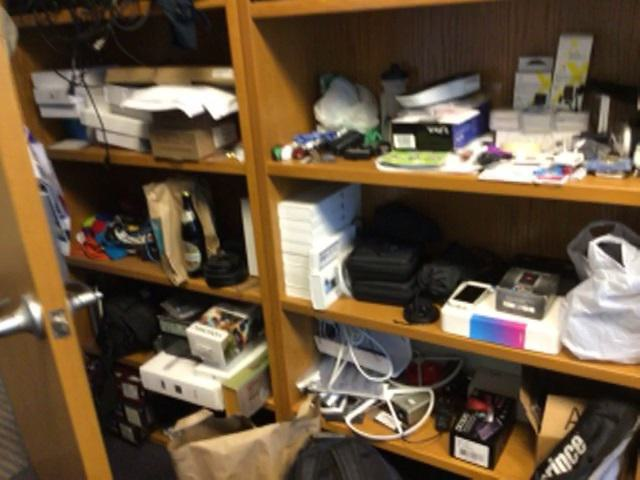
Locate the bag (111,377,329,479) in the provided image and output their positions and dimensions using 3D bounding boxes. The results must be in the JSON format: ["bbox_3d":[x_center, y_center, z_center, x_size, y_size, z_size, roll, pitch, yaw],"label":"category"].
[{"bbox_3d":[-0.220,0.670,1.450,0.370,0.460,0.340,7,22,31],"label":"bag"}]

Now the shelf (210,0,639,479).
[{"bbox_3d":[0.290,-0.190,1.290,0.940,2.040,0.390,7,22,31],"label":"shelf"}]
